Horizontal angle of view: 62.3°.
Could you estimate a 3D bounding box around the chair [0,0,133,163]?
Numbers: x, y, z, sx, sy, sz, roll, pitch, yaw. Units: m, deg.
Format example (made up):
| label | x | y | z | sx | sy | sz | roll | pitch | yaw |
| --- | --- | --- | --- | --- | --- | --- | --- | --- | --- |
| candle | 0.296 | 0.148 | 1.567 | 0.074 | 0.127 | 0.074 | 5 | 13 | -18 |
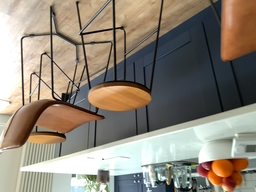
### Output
| label | x | y | z | sx | sy | sz | roll | pitch | yaw |
| --- | --- | --- | --- | --- | --- | --- | --- | --- | --- |
| chair | -0.430 | -0.050 | 1.520 | 0.640 | 0.920 | 0.610 | 20 | 147 | -40 |
